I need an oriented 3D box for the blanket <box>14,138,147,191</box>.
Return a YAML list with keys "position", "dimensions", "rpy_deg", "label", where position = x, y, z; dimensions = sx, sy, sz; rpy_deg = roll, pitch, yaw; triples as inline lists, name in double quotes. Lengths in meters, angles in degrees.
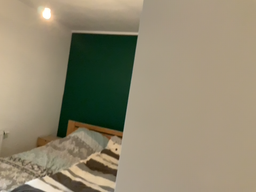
- position: [-0.340, 0.750, 2.330]
  dimensions: [0.680, 0.220, 1.510]
  rpy_deg: [9, 0, 21]
  label: "blanket"
